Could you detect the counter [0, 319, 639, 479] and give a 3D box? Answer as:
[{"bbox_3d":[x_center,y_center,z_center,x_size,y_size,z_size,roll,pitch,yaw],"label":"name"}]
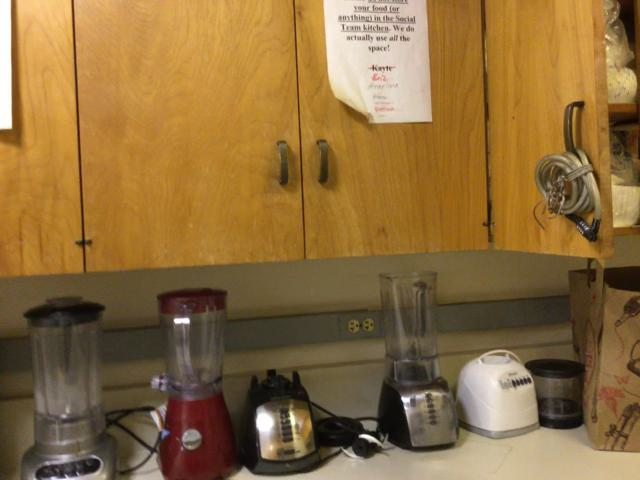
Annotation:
[{"bbox_3d":[0.180,0.400,1.130,2.750,0.300,0.720,-1,0,-15],"label":"counter"}]
